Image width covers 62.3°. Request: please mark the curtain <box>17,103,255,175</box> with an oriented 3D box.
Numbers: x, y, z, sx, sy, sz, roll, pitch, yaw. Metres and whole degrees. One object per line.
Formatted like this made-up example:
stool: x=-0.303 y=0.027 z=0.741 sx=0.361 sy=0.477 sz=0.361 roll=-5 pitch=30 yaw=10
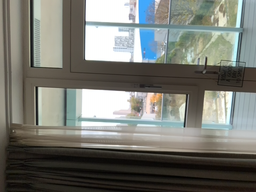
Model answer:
curtain: x=0.420 y=0.350 z=1.780 sx=0.420 sy=2.480 sz=0.350 roll=-83 pitch=-3 yaw=-79
